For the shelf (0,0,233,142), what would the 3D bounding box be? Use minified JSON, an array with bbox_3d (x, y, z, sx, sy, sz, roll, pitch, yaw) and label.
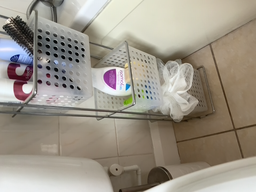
[{"bbox_3d":[-0.020,-0.030,0.620,0.250,0.720,0.240,-33,60,43],"label":"shelf"}]
